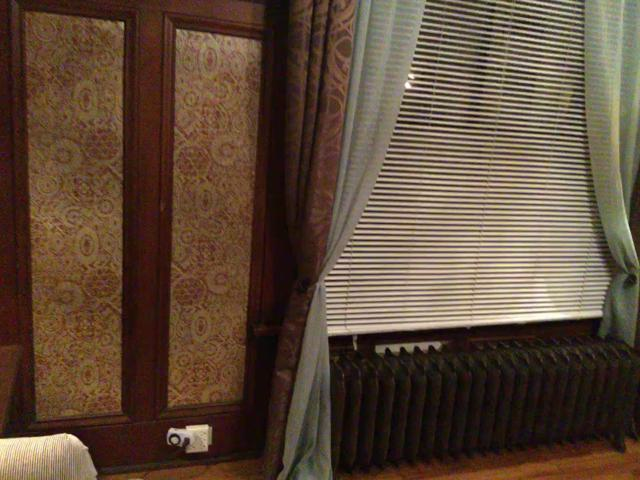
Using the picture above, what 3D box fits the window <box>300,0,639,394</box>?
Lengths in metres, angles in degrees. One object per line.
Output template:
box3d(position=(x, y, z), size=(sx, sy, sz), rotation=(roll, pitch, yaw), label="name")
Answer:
box3d(position=(0.610, -0.320, 2.160), size=(1.350, 1.660, 0.180), rotation=(-3, 12, -18), label="window")
